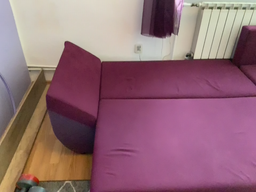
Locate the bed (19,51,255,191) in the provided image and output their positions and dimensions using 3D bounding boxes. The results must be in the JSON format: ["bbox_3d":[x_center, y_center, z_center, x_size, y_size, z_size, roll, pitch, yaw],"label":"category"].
[{"bbox_3d":[0.810,0.130,1.740,2.700,0.410,1.490,-1,36,-4],"label":"bed"}]
